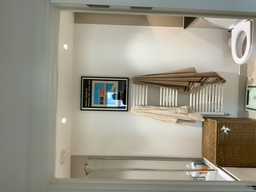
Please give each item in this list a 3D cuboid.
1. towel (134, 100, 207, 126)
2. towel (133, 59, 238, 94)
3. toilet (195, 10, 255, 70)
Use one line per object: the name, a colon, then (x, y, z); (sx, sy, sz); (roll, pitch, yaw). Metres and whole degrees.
towel: (0.540, 0.220, 2.720); (0.150, 0.900, 0.290); (-167, 79, -87)
towel: (0.720, -0.240, 2.720); (0.200, 1.290, 0.360); (135, 137, -86)
toilet: (1.230, -0.590, 2.350); (0.390, 0.830, 0.520); (-157, 69, -87)
